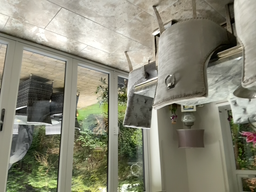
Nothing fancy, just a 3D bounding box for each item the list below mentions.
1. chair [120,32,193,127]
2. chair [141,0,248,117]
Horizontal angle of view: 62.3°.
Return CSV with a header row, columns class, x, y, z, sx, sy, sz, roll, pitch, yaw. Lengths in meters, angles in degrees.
class,x,y,z,sx,sy,sz,roll,pitch,yaw
chair,0.340,-0.150,2.800,0.580,1.010,0.700,12,160,-39
chair,0.560,-0.390,1.900,0.670,1.020,0.540,11,161,-36
